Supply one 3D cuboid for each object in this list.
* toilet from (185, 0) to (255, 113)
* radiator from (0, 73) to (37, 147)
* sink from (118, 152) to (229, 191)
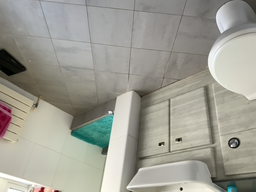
[{"bbox_3d":[0.630,-0.260,1.220,0.370,0.450,0.510,-22,136,34],"label":"toilet"},{"bbox_3d":[-1.180,0.070,1.830,0.140,0.540,0.600,-22,136,34],"label":"radiator"},{"bbox_3d":[0.300,0.570,1.430,0.580,0.150,0.430,-21,136,34],"label":"sink"}]
